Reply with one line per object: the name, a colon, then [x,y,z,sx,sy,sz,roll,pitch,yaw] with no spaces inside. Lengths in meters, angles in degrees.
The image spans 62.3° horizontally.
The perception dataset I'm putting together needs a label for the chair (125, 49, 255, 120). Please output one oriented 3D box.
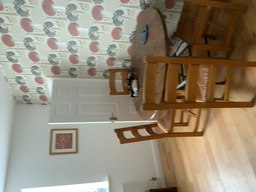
chair: [0.550,-0.130,1.910,0.590,1.020,0.490,-134,46,-70]
